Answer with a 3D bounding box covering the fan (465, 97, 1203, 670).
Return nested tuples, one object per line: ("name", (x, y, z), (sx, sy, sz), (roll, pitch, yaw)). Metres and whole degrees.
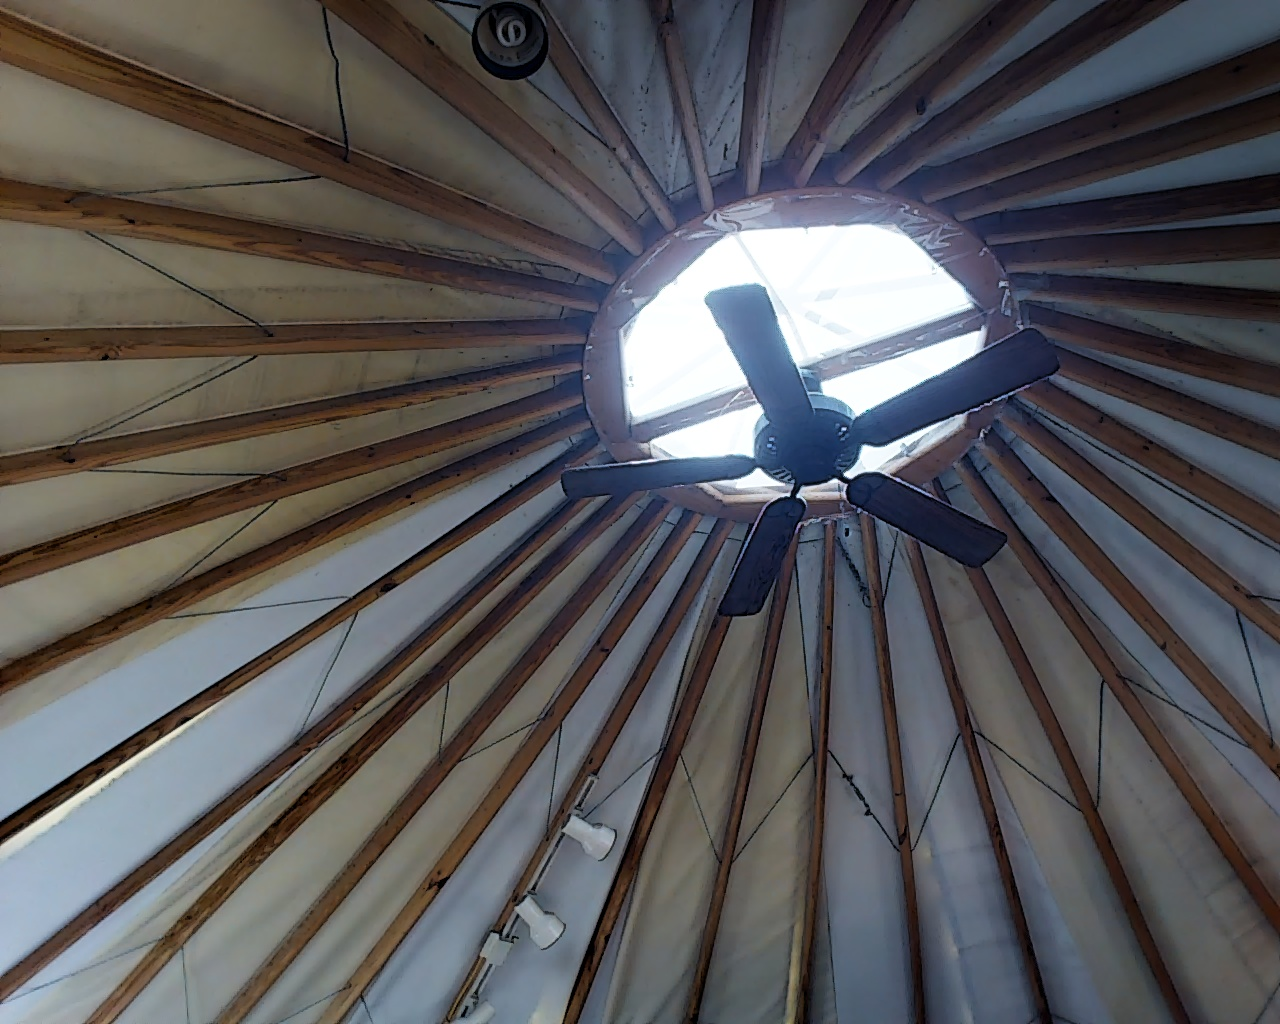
("fan", (0.550, -0.160, 2.800), (1.510, 0.110, 1.300), (-20, -46, 21))
